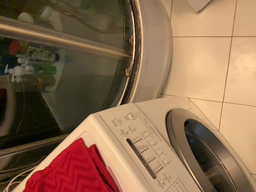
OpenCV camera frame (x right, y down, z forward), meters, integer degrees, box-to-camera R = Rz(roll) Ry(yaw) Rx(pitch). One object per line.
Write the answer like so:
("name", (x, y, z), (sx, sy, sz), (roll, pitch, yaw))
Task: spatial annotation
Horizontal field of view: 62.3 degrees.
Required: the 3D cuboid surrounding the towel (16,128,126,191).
("towel", (-0.140, 0.220, 0.490), (0.240, 0.060, 0.180), (-44, 72, 24))
